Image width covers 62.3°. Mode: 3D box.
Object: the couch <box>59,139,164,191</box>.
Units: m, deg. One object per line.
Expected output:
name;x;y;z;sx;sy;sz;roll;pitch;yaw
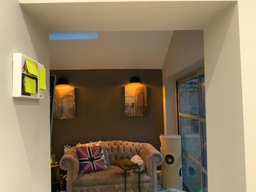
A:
couch;-0.270;1.270;3.600;1.560;0.880;0.870;-1;-1;-6

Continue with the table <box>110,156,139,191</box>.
table;-0.060;1.350;3.280;0.250;0.690;0.490;0;-2;-29
